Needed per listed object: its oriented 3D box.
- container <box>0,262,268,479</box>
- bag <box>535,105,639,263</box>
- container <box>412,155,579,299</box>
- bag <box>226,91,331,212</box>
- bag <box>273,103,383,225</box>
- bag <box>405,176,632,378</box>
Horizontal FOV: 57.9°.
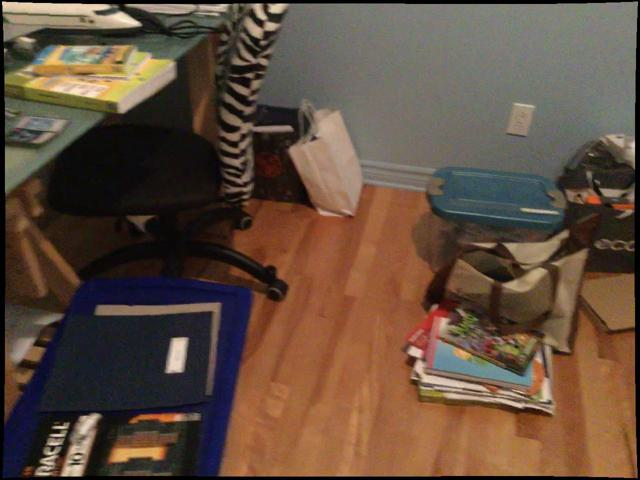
[{"bbox_3d":[-0.380,0.390,1.190,0.440,0.360,0.600,5,37,4],"label":"container"},{"bbox_3d":[1.049,-0.170,1.910,0.549,0.400,0.270,9,40,10],"label":"bag"},{"bbox_3d":[0.539,-0.050,1.830,0.430,0.270,0.300,9,40,10],"label":"container"},{"bbox_3d":[-0.140,-0.330,2.140,0.300,0.310,0.280,9,40,10],"label":"bag"},{"bbox_3d":[0.040,-0.280,2.140,0.230,0.300,0.250,-23,28,31],"label":"bag"},{"bbox_3d":[0.519,0.090,1.610,0.490,0.330,0.360,9,40,10],"label":"bag"}]
